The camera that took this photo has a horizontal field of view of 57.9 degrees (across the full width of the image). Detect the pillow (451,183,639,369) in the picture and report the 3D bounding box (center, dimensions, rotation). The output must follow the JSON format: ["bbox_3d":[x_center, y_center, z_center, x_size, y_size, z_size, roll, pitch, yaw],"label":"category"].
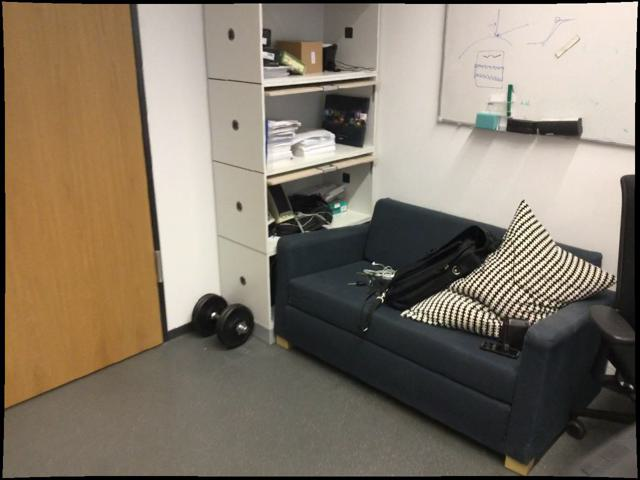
[{"bbox_3d":[0.899,0.100,2.300,0.460,0.480,0.580,19,28,41],"label":"pillow"}]

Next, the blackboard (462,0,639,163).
[{"bbox_3d":[1.249,-0.811,2.030,1.519,1.081,0.130,19,28,41],"label":"blackboard"}]

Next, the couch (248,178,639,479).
[{"bbox_3d":[0.480,0.250,2.630,1.509,0.671,0.810,19,28,41],"label":"couch"}]

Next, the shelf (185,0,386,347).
[{"bbox_3d":[-0.150,-0.611,2.950,0.510,2.082,0.830,19,28,41],"label":"shelf"}]
